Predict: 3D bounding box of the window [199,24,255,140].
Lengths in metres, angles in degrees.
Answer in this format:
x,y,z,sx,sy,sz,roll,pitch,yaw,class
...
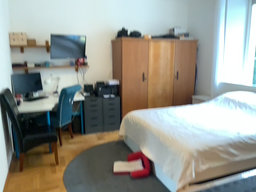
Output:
x,y,z,sx,sy,sz,roll,pitch,yaw,class
2.090,-0.290,4.070,0.200,1.970,1.630,-6,12,-26,window
